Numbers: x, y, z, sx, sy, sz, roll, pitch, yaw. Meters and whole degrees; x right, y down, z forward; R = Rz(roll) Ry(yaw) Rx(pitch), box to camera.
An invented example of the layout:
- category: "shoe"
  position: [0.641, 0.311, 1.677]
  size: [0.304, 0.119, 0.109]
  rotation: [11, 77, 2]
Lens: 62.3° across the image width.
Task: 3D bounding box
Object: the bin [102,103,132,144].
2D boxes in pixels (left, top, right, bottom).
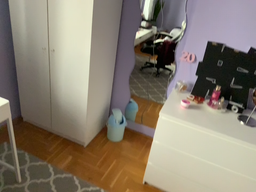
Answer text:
- category: "bin"
  position: [-0.120, 0.300, 2.330]
  size: [0.230, 0.280, 0.300]
  rotation: [14, 29, 7]
